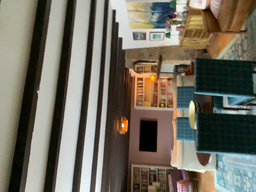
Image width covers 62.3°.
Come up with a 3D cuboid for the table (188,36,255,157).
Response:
[{"bbox_3d":[1.340,0.060,2.960,0.980,0.760,1.420,68,-155,-79],"label":"table"}]

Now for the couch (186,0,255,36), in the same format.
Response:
[{"bbox_3d":[1.440,-1.600,3.440,0.780,0.770,0.970,86,-171,-49],"label":"couch"}]

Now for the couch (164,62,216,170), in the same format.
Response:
[{"bbox_3d":[1.450,0.520,5.230,1.290,0.930,2.310,74,-161,-76],"label":"couch"}]
